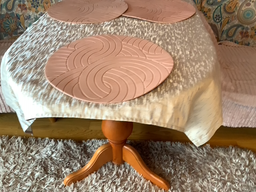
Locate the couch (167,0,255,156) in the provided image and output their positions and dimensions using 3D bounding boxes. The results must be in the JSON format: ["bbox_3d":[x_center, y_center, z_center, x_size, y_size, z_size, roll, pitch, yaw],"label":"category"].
[{"bbox_3d":[0.760,-0.370,1.250,0.840,1.030,0.990,3,41,2],"label":"couch"}]

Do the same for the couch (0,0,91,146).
[{"bbox_3d":[-0.730,-0.410,1.270,0.780,1.020,0.950,1,41,0],"label":"couch"}]

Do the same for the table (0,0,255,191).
[{"bbox_3d":[-0.020,-0.170,1.240,0.730,0.710,1.430,1,41,0],"label":"table"}]
